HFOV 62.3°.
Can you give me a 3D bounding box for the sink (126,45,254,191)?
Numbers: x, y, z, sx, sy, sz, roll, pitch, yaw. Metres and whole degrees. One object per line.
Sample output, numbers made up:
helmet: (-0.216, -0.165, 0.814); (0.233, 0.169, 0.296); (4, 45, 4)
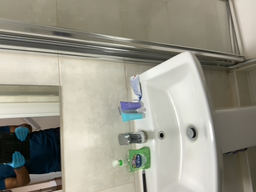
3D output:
sink: (0.200, 0.150, 0.820); (0.400, 0.190, 0.550); (-19, 75, 58)
